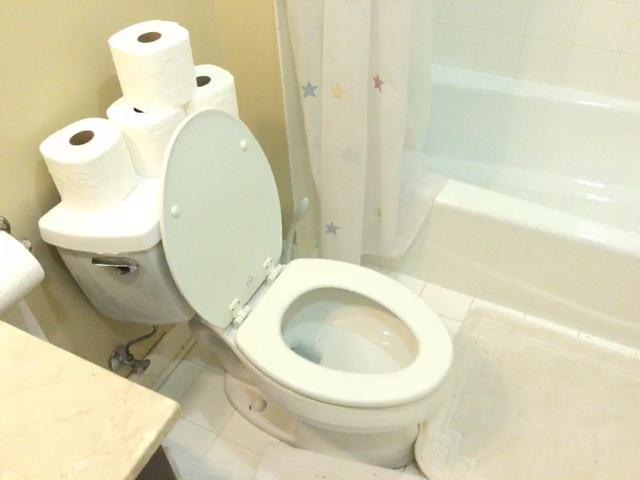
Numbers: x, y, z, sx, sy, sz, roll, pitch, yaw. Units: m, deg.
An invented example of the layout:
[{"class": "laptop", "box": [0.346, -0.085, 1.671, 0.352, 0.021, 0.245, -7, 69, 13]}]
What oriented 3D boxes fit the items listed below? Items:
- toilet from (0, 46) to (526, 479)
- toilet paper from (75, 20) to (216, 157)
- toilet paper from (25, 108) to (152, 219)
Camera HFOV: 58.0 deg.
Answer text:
[{"class": "toilet", "box": [-0.070, 0.130, 1.230, 0.750, 0.810, 0.490, 16, 48, 22]}, {"class": "toilet paper", "box": [-0.310, -0.280, 1.060, 0.140, 0.170, 0.160, 16, 48, 22]}, {"class": "toilet paper", "box": [-0.410, -0.140, 1.040, 0.120, 0.120, 0.140, 16, 48, 22]}]
